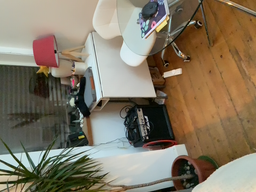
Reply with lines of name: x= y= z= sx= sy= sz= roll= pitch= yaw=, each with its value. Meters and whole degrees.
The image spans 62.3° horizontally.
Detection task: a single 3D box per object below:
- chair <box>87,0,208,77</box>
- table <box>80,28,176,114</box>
chair: x=0.140 y=-0.550 z=1.920 sx=0.580 sy=0.820 sz=0.500 roll=-45 pitch=51 yaw=53
table: x=-0.030 y=-0.240 z=2.250 sx=0.400 sy=0.790 sz=0.730 roll=-47 pitch=50 yaw=52
